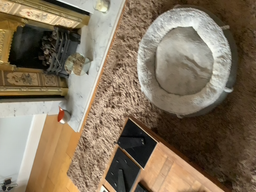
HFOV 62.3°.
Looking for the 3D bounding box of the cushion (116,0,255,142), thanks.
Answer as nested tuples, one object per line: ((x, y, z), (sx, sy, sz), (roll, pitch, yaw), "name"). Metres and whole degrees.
((0.320, -0.210, 1.350), (0.720, 0.150, 0.680), (33, 111, 34), "cushion")

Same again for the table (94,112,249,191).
((0.190, 0.650, 1.390), (0.720, 0.330, 0.810), (34, 111, 34), "table")
